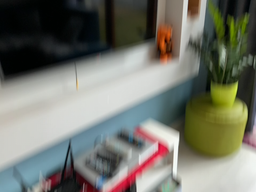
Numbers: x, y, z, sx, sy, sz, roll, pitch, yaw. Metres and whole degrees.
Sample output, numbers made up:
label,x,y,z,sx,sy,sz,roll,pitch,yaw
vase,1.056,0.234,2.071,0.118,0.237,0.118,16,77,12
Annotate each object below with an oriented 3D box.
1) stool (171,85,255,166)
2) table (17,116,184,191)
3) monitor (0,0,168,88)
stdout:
label,x,y,z,sx,sy,sz,roll,pitch,yaw
stool,0.770,0.230,1.970,0.500,0.420,0.520,-24,33,-38
table,-0.110,0.560,1.420,0.970,0.370,0.460,-24,33,-38
monitor,-0.130,-0.470,1.100,1.070,0.560,0.050,-25,34,-38
